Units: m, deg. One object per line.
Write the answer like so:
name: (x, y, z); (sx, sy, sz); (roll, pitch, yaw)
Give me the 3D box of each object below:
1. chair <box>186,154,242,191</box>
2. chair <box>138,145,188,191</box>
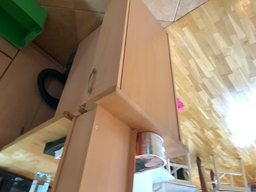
chair: (1.140, 1.270, 2.790); (0.510, 0.840, 0.420); (8, 139, -5)
chair: (0.420, 1.130, 2.660); (0.500, 0.860, 0.390); (12, 138, -10)
